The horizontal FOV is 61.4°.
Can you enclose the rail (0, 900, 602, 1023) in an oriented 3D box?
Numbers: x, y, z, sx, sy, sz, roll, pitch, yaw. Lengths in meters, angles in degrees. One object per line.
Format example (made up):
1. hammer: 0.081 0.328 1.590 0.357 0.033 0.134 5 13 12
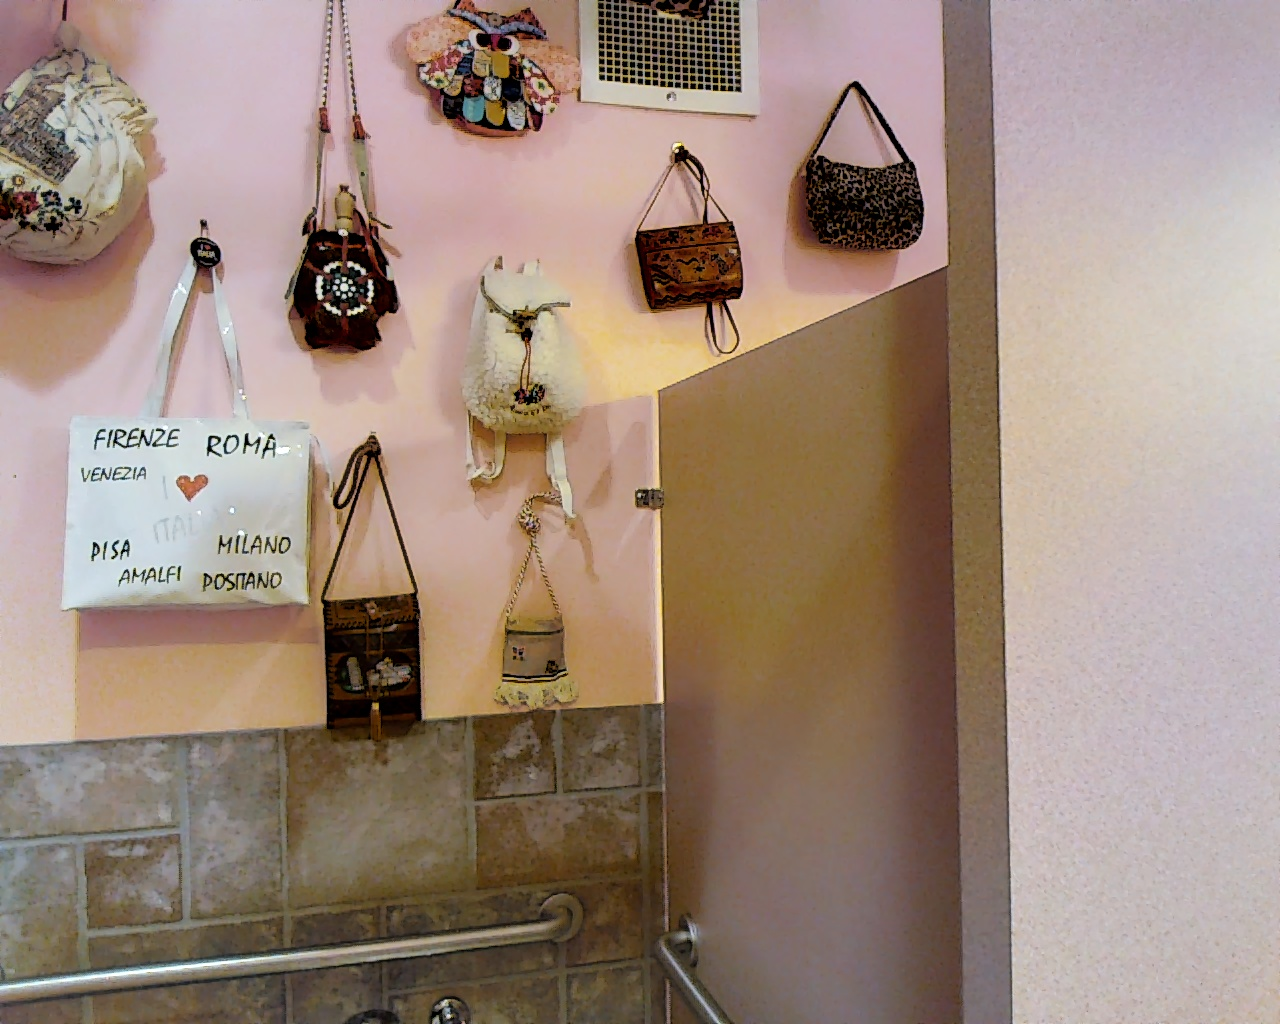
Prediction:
1. rail: -0.560 0.720 1.730 1.000 0.060 0.090 -1 -1 -15
